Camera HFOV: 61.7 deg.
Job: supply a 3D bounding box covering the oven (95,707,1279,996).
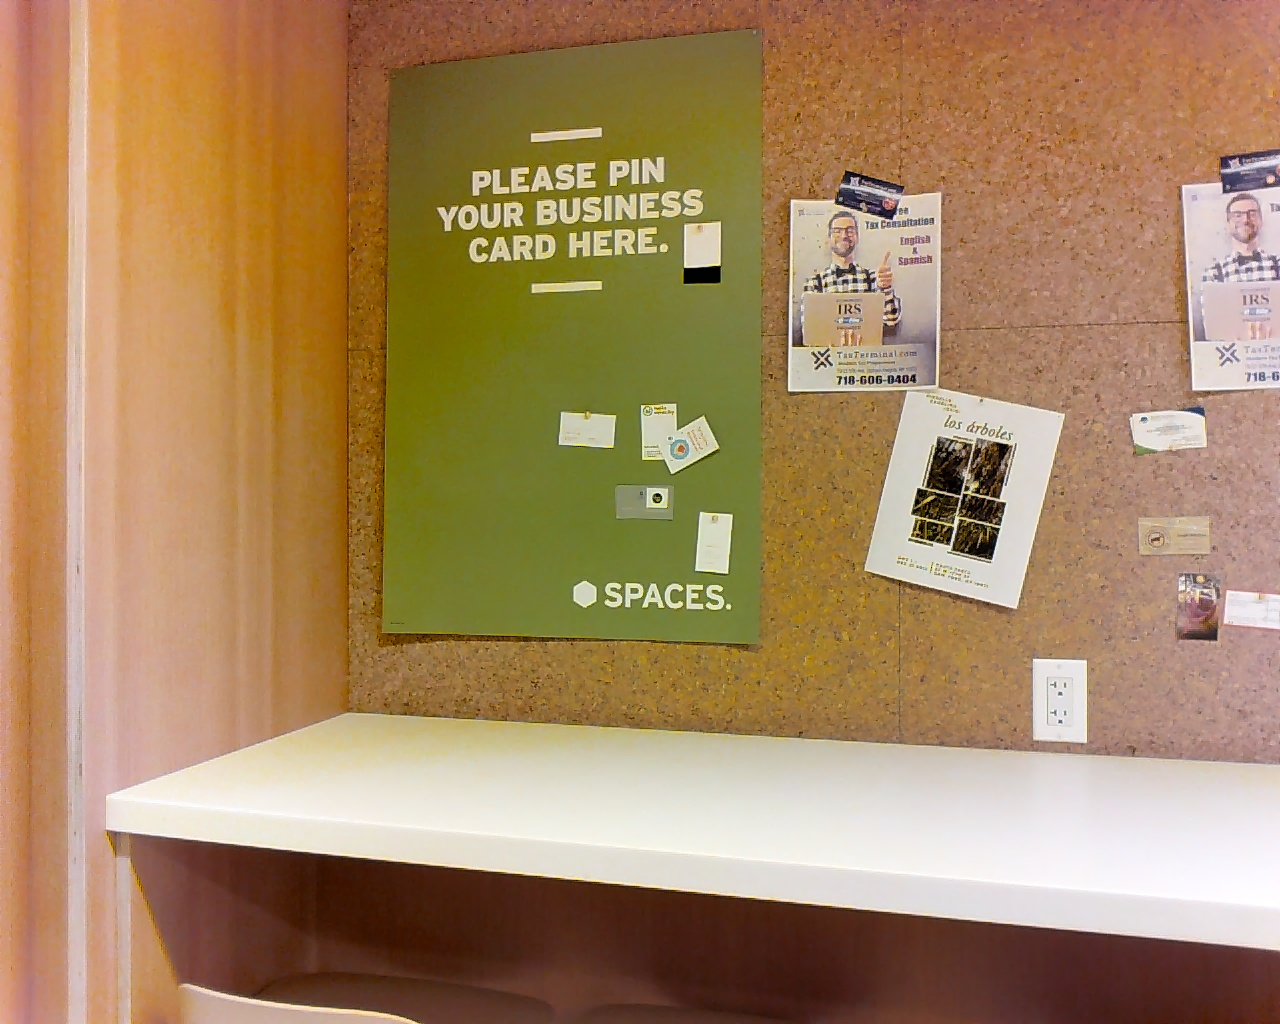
[{"bbox_3d":[0.740,0.370,1.150,2.649,0.080,0.560,0,1,14],"label":"oven"}]
